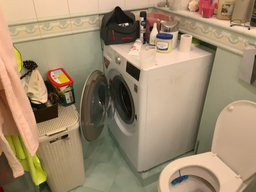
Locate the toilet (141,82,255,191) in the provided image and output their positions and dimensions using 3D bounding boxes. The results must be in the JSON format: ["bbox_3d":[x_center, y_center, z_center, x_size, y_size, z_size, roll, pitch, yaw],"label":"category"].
[{"bbox_3d":[0.410,0.430,1.190,0.540,0.840,0.370,-16,36,-22],"label":"toilet"}]
